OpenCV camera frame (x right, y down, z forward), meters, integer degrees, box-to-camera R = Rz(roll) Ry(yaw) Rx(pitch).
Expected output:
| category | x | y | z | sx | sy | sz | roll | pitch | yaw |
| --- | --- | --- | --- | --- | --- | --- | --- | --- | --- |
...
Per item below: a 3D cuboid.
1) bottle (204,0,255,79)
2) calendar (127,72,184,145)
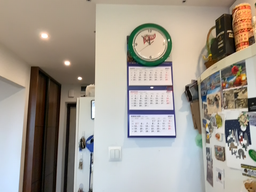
| category | x | y | z | sx | sy | sz | roll | pitch | yaw |
| --- | --- | --- | --- | --- | --- | --- | --- | --- | --- |
| bottle | 0.640 | -0.350 | 1.280 | 0.200 | 0.420 | 0.360 | 1 | -9 | -3 |
| calendar | 0.170 | 0.080 | 1.370 | 0.350 | 0.460 | 0.060 | 1 | -9 | -3 |
